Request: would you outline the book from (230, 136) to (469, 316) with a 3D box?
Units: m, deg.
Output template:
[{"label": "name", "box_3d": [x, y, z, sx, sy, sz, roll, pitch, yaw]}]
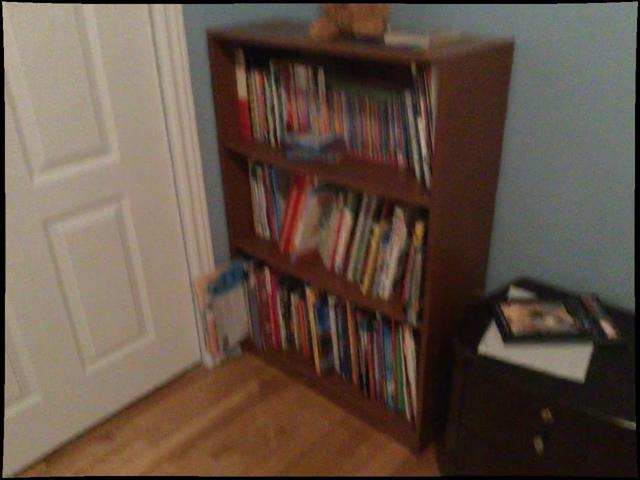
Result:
[{"label": "book", "box_3d": [0.060, -0.070, 1.660, 0.670, 0.290, 0.210, 21, 35, 36]}]

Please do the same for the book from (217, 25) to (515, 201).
[{"label": "book", "box_3d": [0.090, -0.370, 1.520, 0.720, 0.290, 0.280, 21, 35, 36]}]

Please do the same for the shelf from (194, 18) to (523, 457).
[{"label": "shelf", "box_3d": [0.080, -0.040, 1.690, 0.770, 1.061, 0.340, 21, 35, 36]}]

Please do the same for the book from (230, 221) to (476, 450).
[{"label": "book", "box_3d": [0.080, 0.260, 1.820, 0.710, 0.390, 0.280, 21, 35, 36]}]

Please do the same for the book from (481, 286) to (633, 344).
[{"label": "book", "box_3d": [0.539, 0.170, 1.340, 0.280, 0.020, 0.180, -2, 28, -1]}]

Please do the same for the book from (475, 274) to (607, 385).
[{"label": "book", "box_3d": [0.519, 0.190, 1.340, 0.230, 0.020, 0.330, 13, 32, 26]}]
